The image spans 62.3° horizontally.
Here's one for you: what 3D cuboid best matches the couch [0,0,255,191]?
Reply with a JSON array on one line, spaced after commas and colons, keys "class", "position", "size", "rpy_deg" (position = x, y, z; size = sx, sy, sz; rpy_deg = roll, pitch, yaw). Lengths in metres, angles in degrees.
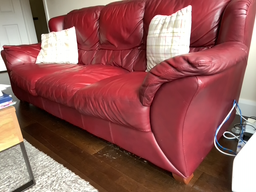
[{"class": "couch", "position": [-0.210, -0.310, 1.800], "size": [2.180, 0.940, 1.030], "rpy_deg": [15, 28, 40]}]
